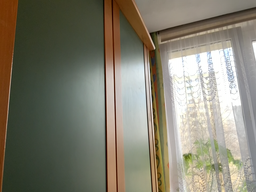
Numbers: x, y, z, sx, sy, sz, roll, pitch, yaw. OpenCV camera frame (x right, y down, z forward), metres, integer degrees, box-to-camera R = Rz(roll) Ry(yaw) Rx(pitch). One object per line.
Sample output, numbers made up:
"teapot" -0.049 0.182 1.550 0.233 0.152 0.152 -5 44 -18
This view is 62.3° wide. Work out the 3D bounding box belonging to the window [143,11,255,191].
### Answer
"window" 0.800 0.220 1.490 1.260 1.580 0.240 -8 -13 18
